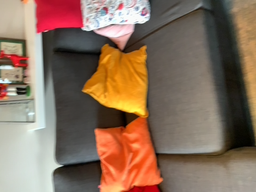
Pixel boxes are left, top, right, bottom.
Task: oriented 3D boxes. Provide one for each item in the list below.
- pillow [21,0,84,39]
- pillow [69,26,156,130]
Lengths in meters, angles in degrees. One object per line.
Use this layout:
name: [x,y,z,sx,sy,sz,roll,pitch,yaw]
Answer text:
pillow: [-0.480,-0.620,1.410,0.150,0.280,0.340,-5,64,41]
pillow: [-0.060,-0.120,1.450,0.250,0.460,0.510,-1,44,30]
